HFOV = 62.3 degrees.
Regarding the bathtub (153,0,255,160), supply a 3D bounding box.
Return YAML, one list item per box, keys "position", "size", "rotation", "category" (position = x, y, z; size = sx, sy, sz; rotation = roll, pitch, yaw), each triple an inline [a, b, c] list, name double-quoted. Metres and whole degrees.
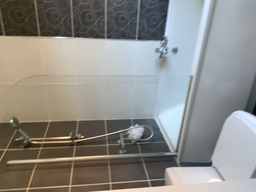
- position: [0.700, -0.350, 1.880]
  size: [0.770, 0.590, 1.650]
  rotation: [-107, 19, -62]
  category: "bathtub"
